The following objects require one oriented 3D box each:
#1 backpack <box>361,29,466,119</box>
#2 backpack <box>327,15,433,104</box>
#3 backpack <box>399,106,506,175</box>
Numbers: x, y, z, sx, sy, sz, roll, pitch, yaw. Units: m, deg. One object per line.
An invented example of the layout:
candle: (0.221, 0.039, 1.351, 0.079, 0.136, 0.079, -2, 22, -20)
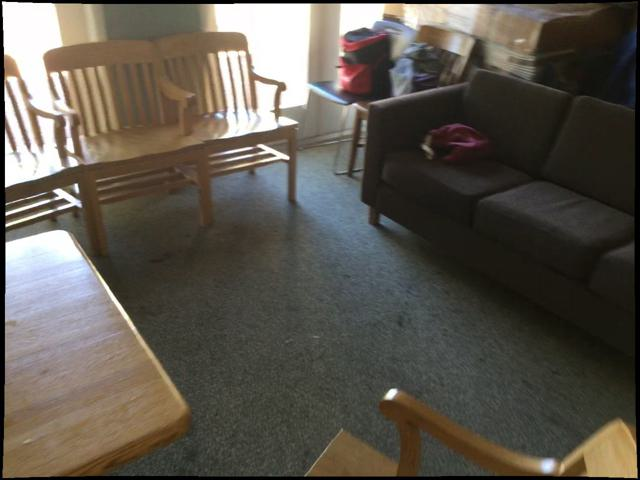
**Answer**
backpack: (0.519, -0.951, 3.280, 0.380, 0.350, 0.410, -20, 38, -30)
backpack: (0.350, -1.111, 3.520, 0.420, 0.370, 0.470, -20, 38, -30)
backpack: (0.619, -0.480, 2.740, 0.340, 0.150, 0.340, -21, 38, -30)
